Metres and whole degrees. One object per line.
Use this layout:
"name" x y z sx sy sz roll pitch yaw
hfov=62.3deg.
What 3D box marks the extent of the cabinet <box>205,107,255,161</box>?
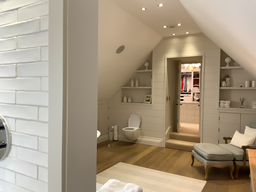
"cabinet" 2.390 0.860 5.020 0.980 1.110 0.350 2 2 25
